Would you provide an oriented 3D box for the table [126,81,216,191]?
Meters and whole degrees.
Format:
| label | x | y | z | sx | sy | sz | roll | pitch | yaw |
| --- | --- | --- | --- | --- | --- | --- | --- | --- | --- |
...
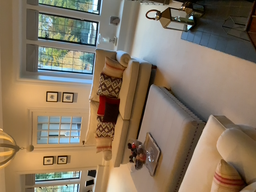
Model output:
| label | x | y | z | sx | sy | sz | roll | pitch | yaw |
| --- | --- | --- | --- | --- | --- | --- | --- | --- | --- |
| table | 0.450 | 0.830 | 3.000 | 1.040 | 0.370 | 1.810 | -124 | 41 | -58 |
